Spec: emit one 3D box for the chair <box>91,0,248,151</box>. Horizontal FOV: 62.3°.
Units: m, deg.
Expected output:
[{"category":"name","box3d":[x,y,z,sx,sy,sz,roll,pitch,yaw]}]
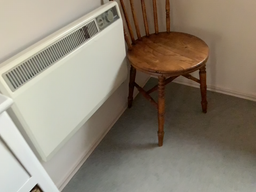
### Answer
[{"category":"chair","box3d":[0.190,-0.240,1.160,0.510,0.820,0.500,-25,44,-20]}]
